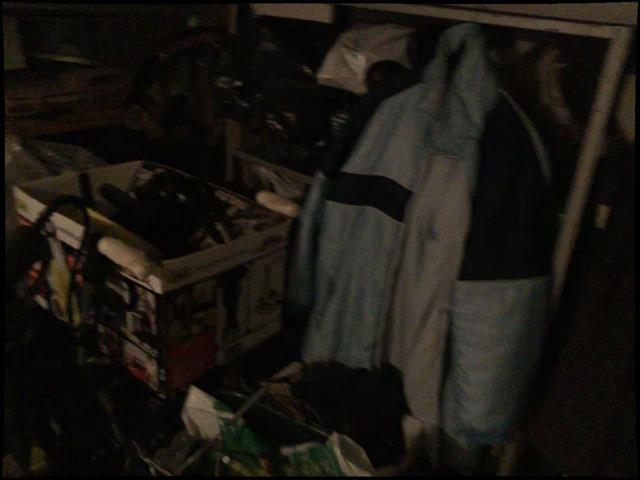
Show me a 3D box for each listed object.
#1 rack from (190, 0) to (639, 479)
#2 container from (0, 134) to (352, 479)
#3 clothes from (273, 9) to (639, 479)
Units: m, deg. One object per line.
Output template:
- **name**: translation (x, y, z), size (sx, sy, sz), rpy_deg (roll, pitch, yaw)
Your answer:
- **rack**: translation (0.160, 0.020, 1.660), size (1.099, 1.471, 0.390), rpy_deg (23, 32, 33)
- **container**: translation (-0.440, 0.100, 1.490), size (0.810, 0.470, 0.600), rpy_deg (23, 32, 33)
- **clothes**: translation (0.230, 0.000, 1.300), size (0.630, 0.901, 0.270), rpy_deg (23, 32, 33)
